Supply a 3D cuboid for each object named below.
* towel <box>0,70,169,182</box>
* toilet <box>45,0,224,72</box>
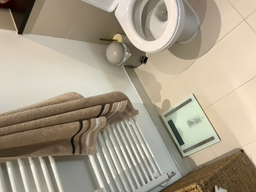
[{"bbox_3d":[-0.330,0.090,0.940,0.200,1.290,0.360,-48,62,34],"label":"towel"},{"bbox_3d":[0.060,-0.470,1.170,0.390,0.830,0.520,-44,64,36],"label":"toilet"}]
